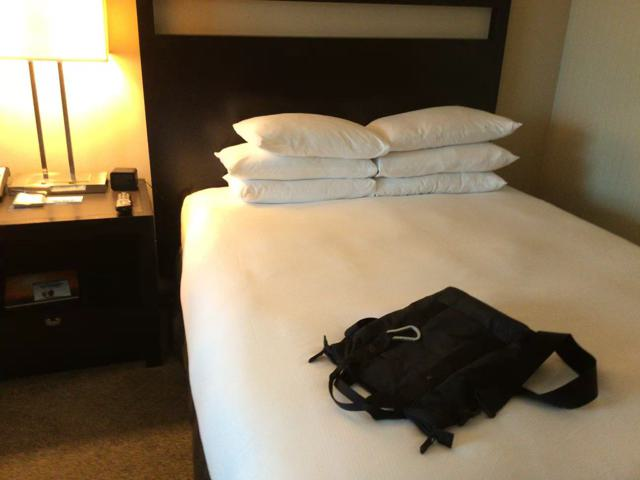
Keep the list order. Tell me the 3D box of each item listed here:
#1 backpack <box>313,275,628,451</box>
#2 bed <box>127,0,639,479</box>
[{"bbox_3d":[0.280,0.220,1.200,0.490,0.120,0.390,-3,20,-18],"label":"backpack"},{"bbox_3d":[0.310,-0.040,1.790,1.640,1.580,2.100,-3,20,-18],"label":"bed"}]
